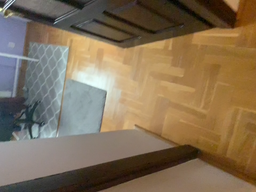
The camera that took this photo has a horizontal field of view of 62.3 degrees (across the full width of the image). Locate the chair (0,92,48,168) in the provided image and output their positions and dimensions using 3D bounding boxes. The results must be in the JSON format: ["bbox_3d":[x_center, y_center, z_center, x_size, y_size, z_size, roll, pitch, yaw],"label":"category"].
[{"bbox_3d":[-1.860,0.430,2.750,0.730,1.210,0.740,34,110,38],"label":"chair"}]
